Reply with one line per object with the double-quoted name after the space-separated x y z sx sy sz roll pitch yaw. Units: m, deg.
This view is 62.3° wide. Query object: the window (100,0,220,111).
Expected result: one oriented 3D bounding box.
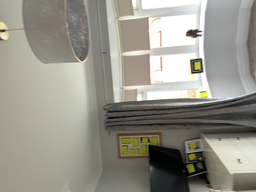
0.480 -0.890 3.360 0.670 1.640 2.080 -73 -21 -77 "window"
